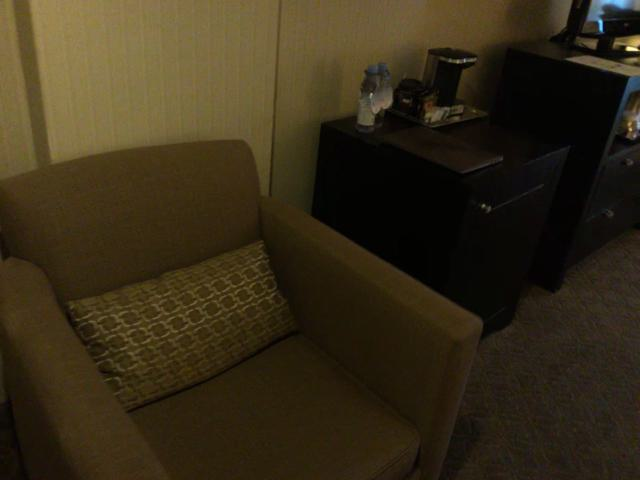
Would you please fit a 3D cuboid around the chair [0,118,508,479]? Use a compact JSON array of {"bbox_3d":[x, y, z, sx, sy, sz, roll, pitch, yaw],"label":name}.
[{"bbox_3d":[-0.250,0.320,1.360,0.850,0.870,0.840,-22,38,-37],"label":"chair"}]
